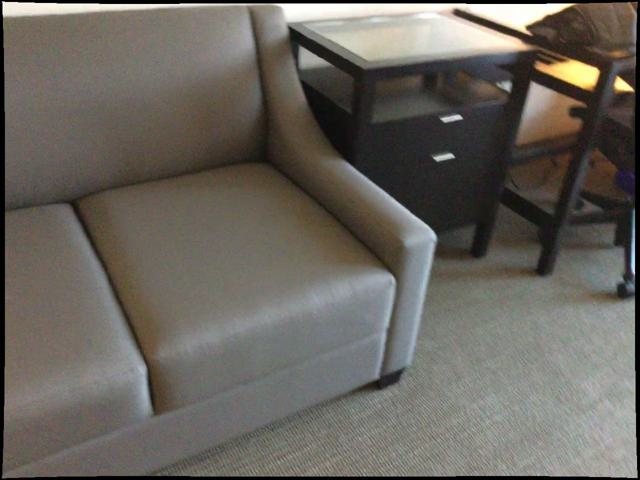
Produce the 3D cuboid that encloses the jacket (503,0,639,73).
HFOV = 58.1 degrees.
[{"bbox_3d":[0.888,-0.732,1.930,0.339,0.190,0.360,-17,40,-27],"label":"jacket"}]

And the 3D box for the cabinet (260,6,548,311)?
[{"bbox_3d":[0.239,-0.331,2.090,0.729,0.801,0.580,-17,40,-27],"label":"cabinet"}]

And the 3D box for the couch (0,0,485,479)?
[{"bbox_3d":[-0.818,0.080,1.320,2.116,0.872,0.950,-17,40,-27],"label":"couch"}]
